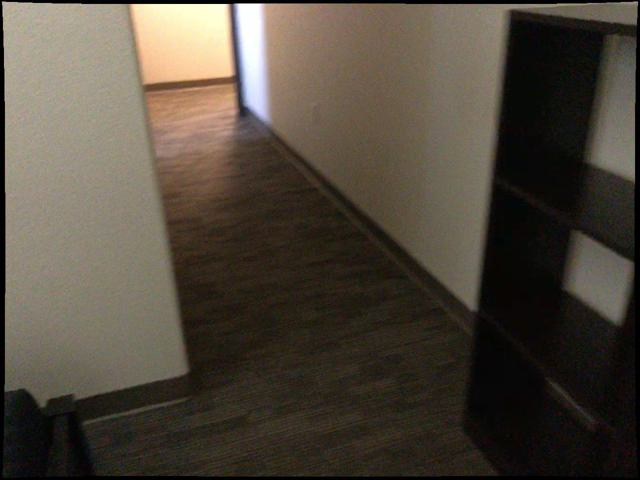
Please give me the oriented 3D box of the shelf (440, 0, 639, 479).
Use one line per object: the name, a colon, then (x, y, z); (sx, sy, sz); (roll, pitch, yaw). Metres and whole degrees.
shelf: (0.739, 0.200, 1.160); (0.380, 1.191, 1.090); (-12, 30, -18)
